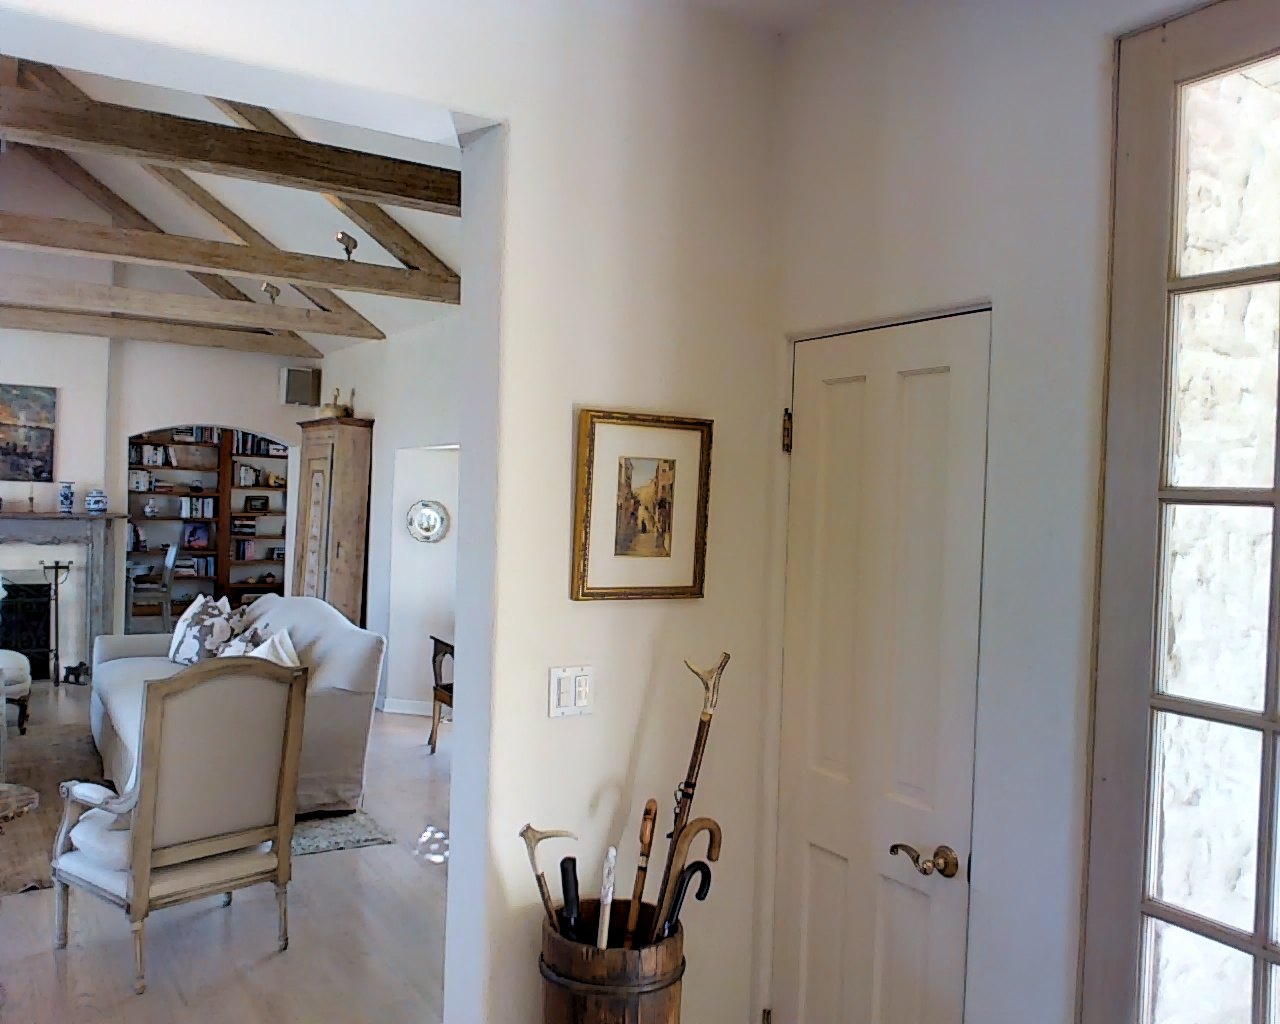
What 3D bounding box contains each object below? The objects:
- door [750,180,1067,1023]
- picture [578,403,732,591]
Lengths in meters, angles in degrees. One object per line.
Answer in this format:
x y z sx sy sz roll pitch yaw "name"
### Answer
0.540 0.490 2.380 0.060 2.241 0.820 1 1 -31 "door"
0.040 -0.030 2.520 0.380 0.420 0.050 1 1 -31 "picture"
